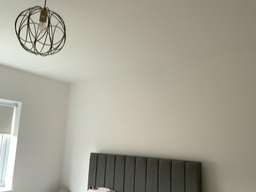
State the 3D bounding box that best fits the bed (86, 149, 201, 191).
[{"bbox_3d":[0.090,0.930,2.550,1.510,0.490,0.160,-6,-14,36],"label":"bed"}]
